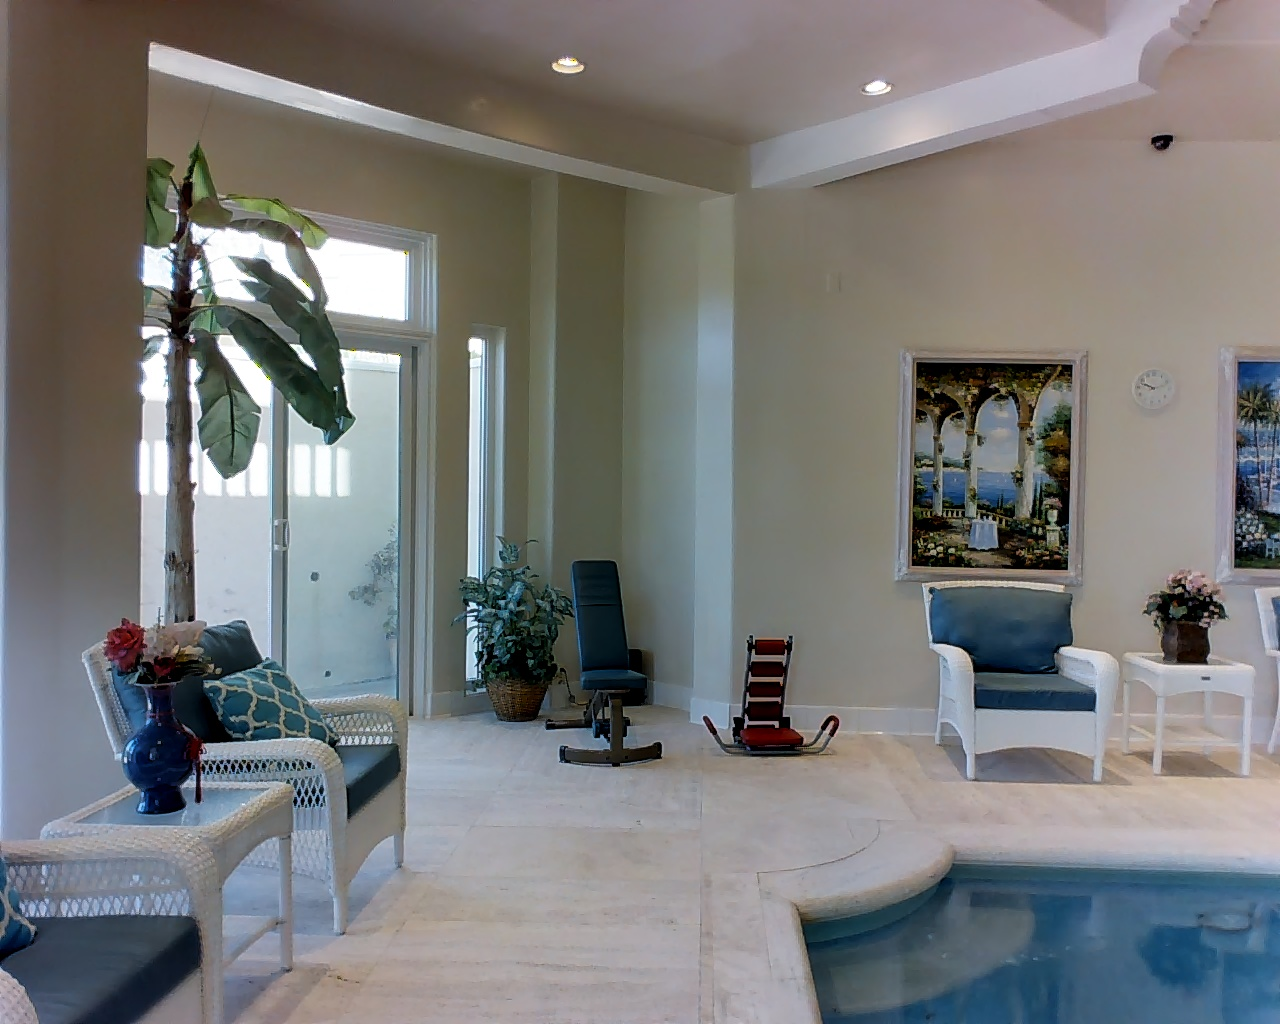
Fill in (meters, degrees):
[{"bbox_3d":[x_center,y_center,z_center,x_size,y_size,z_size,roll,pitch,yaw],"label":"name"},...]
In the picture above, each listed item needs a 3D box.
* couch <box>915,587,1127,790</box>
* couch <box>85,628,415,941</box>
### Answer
[{"bbox_3d":[2.020,0.910,5.820,0.810,0.910,1.010,1,1,3],"label":"couch"},{"bbox_3d":[-1.330,0.910,3.810,0.850,0.880,0.800,1,1,3],"label":"couch"}]
